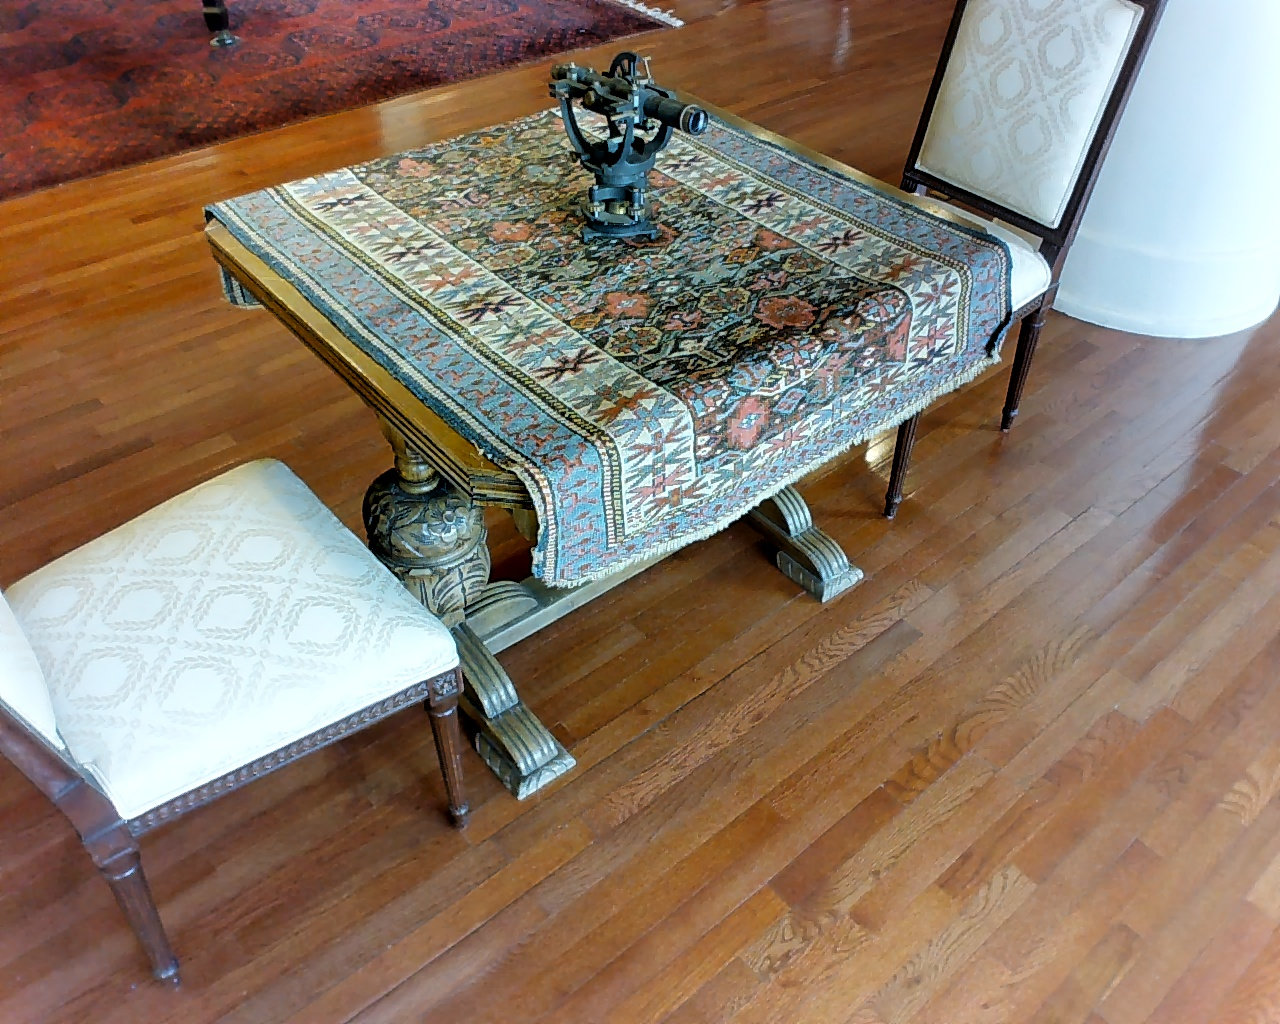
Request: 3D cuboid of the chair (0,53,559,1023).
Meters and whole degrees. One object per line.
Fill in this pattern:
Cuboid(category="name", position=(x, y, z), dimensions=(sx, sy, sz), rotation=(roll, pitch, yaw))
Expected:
Cuboid(category="chair", position=(-0.640, 0.050, 1.480), dimensions=(0.830, 1.000, 0.590), rotation=(-29, 49, -30))

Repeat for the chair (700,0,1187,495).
Cuboid(category="chair", position=(0.600, -0.690, 2.320), dimensions=(0.690, 0.970, 0.570), rotation=(-29, 49, -30))
